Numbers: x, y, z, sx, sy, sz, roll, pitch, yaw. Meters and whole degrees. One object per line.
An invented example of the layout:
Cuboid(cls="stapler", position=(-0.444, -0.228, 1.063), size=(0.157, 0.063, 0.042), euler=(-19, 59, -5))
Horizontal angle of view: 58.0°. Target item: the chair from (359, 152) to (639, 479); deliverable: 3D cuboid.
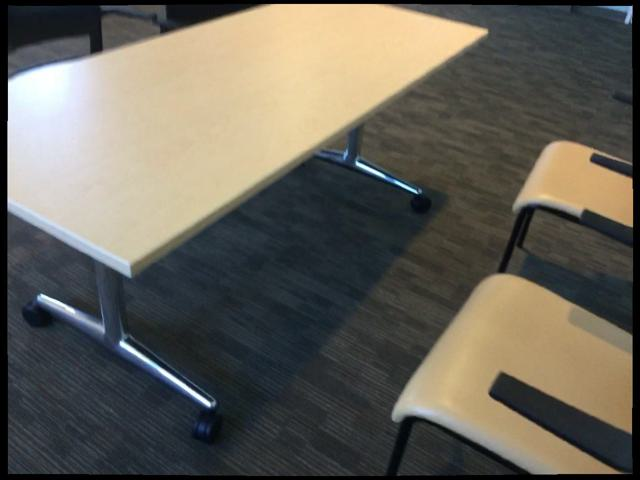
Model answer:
Cuboid(cls="chair", position=(0.499, 0.351, 1.160), size=(0.619, 0.741, 0.570), euler=(23, 39, 22))

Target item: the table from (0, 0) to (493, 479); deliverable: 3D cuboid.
Cuboid(cls="table", position=(-0.220, -0.271, 1.920), size=(0.879, 0.671, 1.890), euler=(23, 39, 22))
